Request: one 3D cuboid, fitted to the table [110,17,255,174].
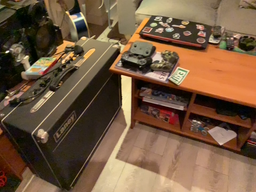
[{"bbox_3d":[0.530,-0.010,1.290,1.110,0.540,0.570,14,48,14],"label":"table"}]

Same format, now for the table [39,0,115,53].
[{"bbox_3d":[-0.460,-0.860,2.090,0.440,0.550,0.590,16,48,14],"label":"table"}]
